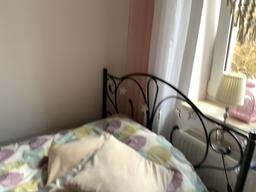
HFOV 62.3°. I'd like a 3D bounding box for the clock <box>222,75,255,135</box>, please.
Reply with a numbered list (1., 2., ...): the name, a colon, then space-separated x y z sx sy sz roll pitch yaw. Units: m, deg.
1. clock: 0.710 0.040 1.220 0.180 0.270 0.190 -8 23 -32
